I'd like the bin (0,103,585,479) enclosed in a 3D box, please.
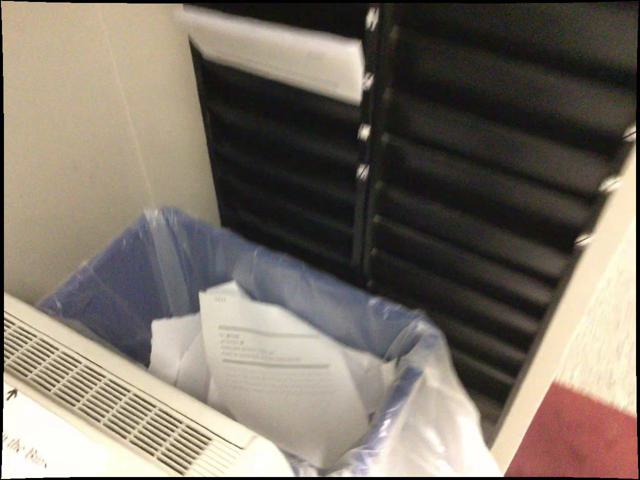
[{"bbox_3d":[-0.050,0.331,0.990,0.679,0.891,0.450,17,49,23],"label":"bin"}]
